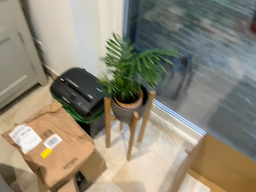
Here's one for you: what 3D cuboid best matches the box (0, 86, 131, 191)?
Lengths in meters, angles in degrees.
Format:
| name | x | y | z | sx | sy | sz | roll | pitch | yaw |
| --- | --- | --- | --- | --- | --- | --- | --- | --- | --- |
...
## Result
| name | x | y | z | sx | sy | sz | roll | pitch | yaw |
| --- | --- | --- | --- | --- | --- | --- | --- | --- | --- |
| box | -0.330 | 0.420 | 1.150 | 0.420 | 0.480 | 0.720 | -23 | 59 | -21 |

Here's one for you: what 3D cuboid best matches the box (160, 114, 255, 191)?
| name | x | y | z | sx | sy | sz | roll | pitch | yaw |
| --- | --- | --- | --- | --- | --- | --- | --- | --- | --- |
| box | 0.400 | 0.520 | 1.050 | 0.420 | 0.360 | 0.670 | 31 | 57 | 17 |

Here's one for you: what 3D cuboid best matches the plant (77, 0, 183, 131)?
| name | x | y | z | sx | sy | sz | roll | pitch | yaw |
| --- | --- | --- | --- | --- | --- | --- | --- | --- | --- |
| plant | 0.000 | -0.120 | 0.930 | 0.280 | 0.430 | 0.270 | 30 | 56 | 16 |
